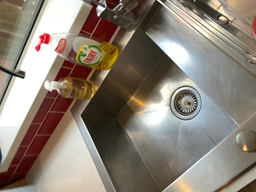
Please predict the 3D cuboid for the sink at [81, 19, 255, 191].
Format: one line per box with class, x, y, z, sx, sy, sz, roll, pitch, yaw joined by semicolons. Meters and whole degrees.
sink;0.080;0.060;0.780;0.460;0.130;0.490;-52;54;24
